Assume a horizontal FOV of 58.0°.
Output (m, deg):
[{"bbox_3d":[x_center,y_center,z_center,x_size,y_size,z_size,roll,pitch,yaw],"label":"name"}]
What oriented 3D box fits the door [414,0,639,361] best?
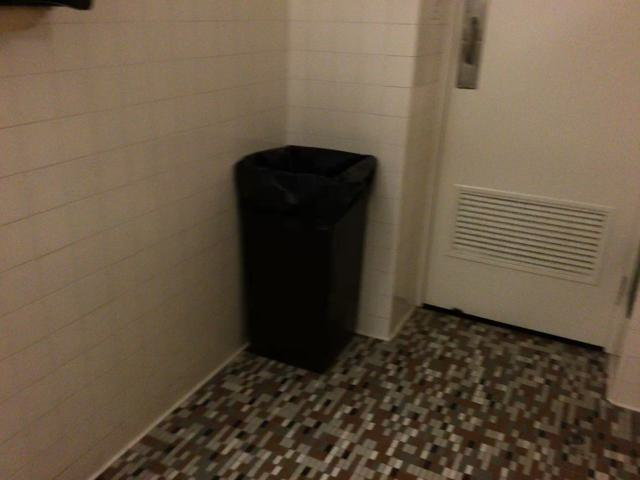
[{"bbox_3d":[0.880,-0.430,2.290,0.900,1.780,0.090,10,22,25],"label":"door"}]
